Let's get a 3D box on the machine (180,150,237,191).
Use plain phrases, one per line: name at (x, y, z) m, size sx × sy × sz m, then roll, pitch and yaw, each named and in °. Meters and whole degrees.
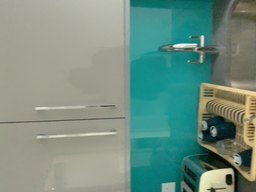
machine at (0.410, 0.490, 1.120) m, size 0.220 × 0.190 × 0.330 m, roll -152°, pitch 61°, yaw -78°
